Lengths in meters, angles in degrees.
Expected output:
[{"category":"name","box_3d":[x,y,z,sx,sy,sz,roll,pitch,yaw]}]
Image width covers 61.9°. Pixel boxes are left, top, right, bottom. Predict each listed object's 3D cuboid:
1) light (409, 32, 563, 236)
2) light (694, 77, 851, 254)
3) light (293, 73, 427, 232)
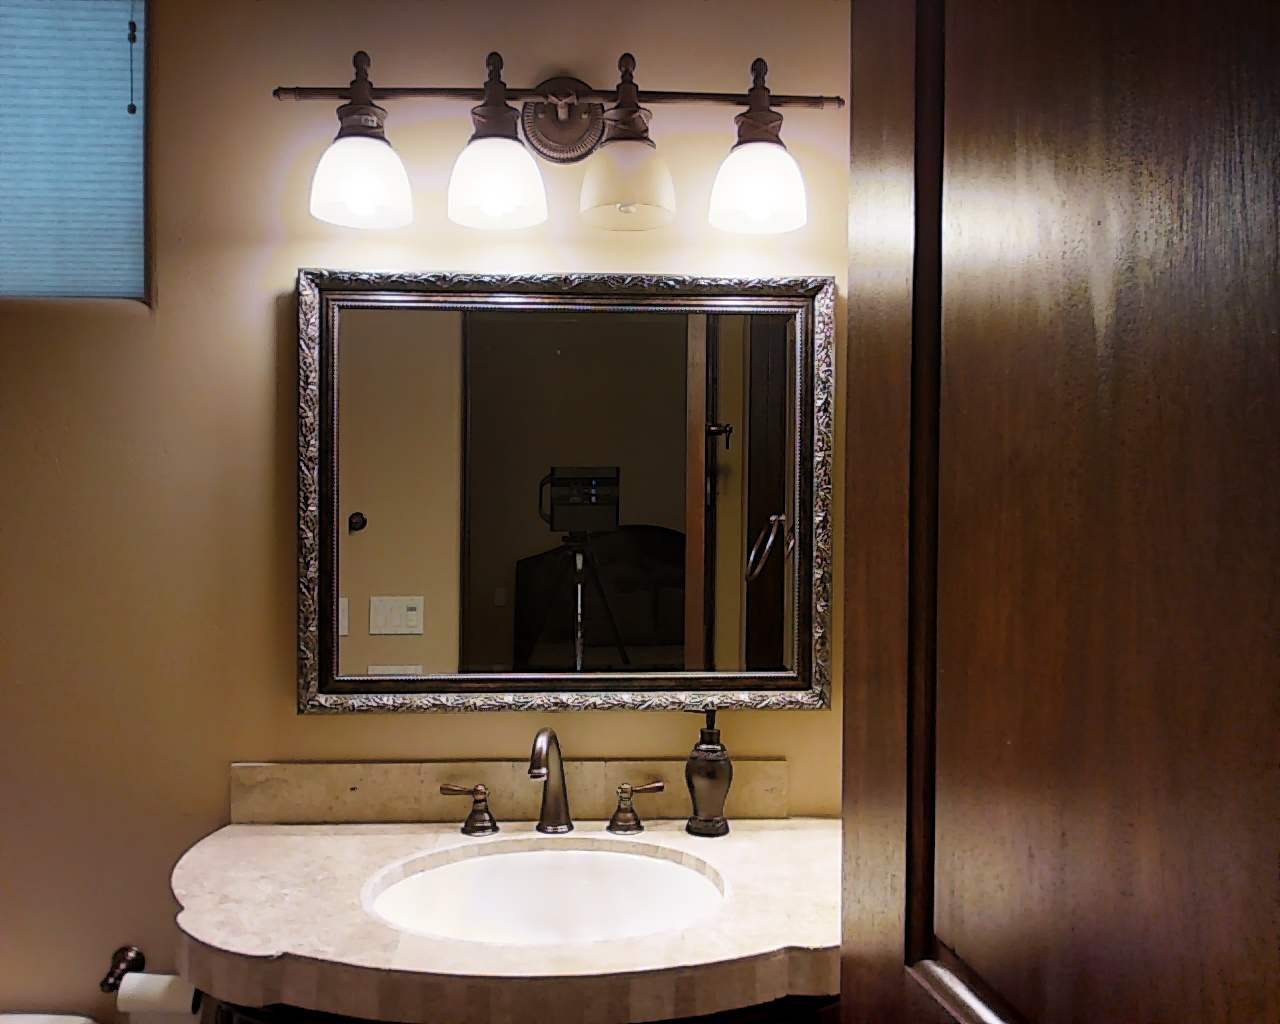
[{"category":"light","box_3d":[-0.230,-0.570,1.630,0.220,0.260,0.140,0,2,-3]},{"category":"light","box_3d":[0.200,-0.530,1.650,0.220,0.230,0.130,0,2,-3]},{"category":"light","box_3d":[-0.420,-0.540,1.620,0.170,0.190,0.150,0,2,-3]}]
